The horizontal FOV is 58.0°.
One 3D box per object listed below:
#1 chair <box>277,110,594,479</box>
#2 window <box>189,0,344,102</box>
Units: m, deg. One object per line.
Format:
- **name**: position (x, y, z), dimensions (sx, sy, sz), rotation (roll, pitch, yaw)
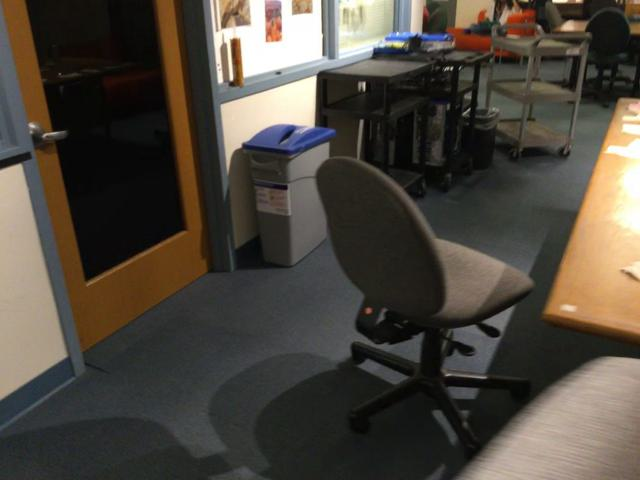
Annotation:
- **chair**: position (0.330, 0.150, 1.830), dimensions (0.650, 0.940, 0.610), rotation (-20, 30, -36)
- **window**: position (-0.210, -1.160, 2.870), dimensions (0.110, 0.740, 1.120), rotation (13, 28, 29)
